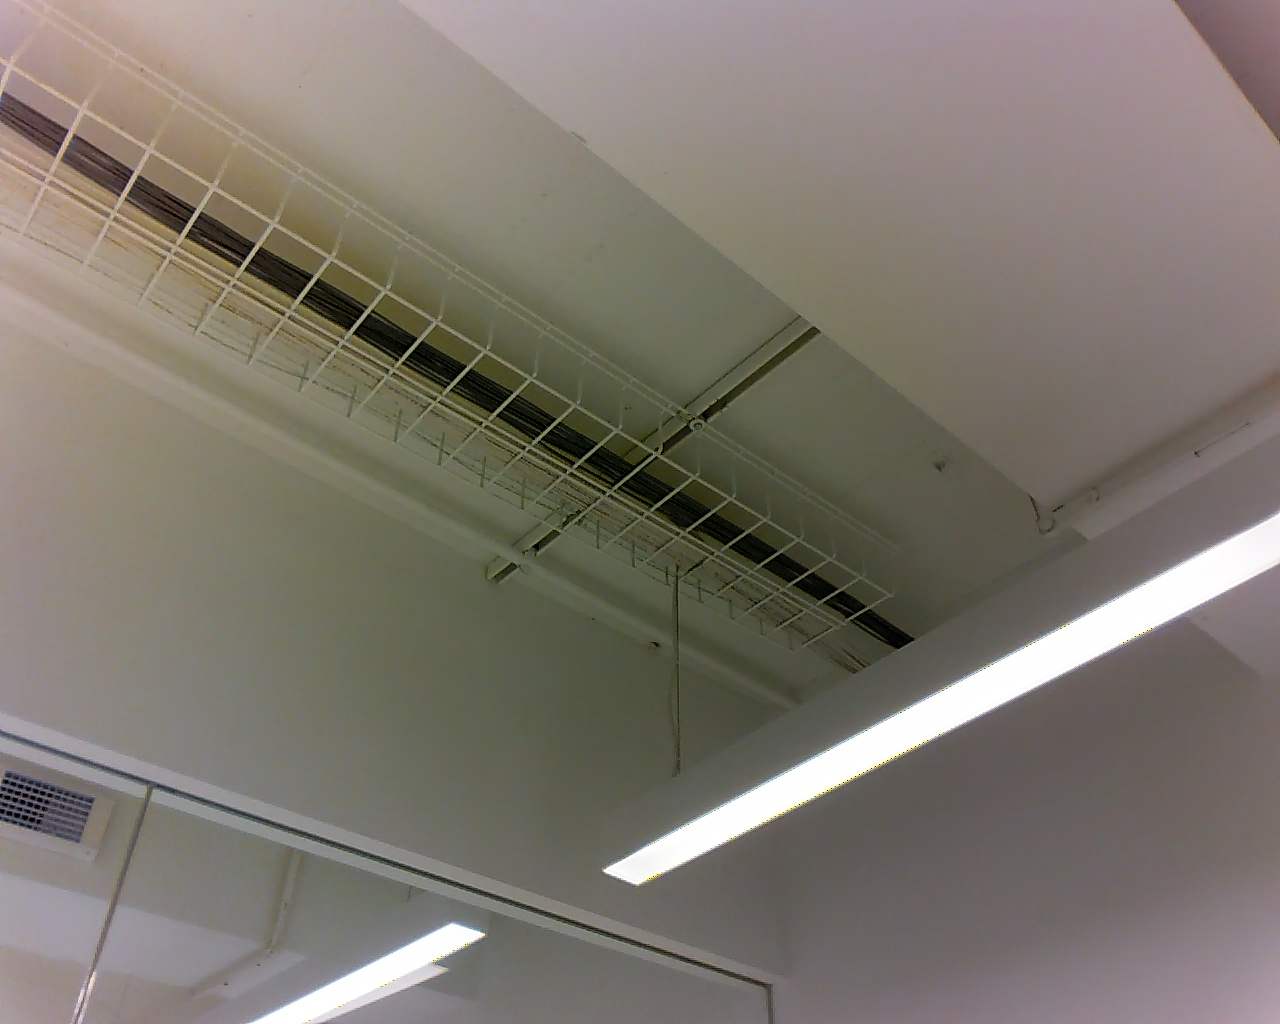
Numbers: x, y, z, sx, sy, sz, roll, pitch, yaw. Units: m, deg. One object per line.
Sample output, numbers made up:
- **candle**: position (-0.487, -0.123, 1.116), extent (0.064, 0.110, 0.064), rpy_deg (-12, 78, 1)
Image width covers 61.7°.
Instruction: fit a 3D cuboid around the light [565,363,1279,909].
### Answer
- **light**: position (0.779, 0.000, 1.360), extent (0.190, 0.220, 2.530), rpy_deg (31, -50, -30)
